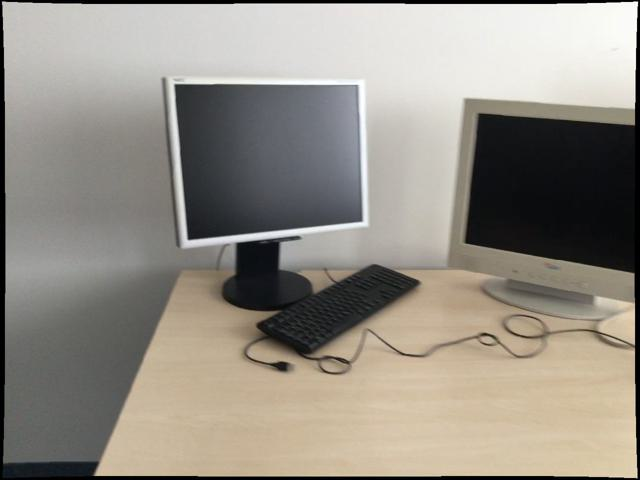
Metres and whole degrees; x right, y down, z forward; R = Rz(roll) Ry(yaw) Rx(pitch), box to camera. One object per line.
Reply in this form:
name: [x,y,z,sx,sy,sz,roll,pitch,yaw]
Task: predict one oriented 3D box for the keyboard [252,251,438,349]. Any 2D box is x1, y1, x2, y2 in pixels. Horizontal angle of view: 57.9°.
keyboard: [0.070,0.120,1.320,0.200,0.030,0.420,19,27,39]
